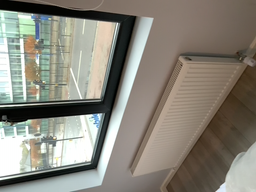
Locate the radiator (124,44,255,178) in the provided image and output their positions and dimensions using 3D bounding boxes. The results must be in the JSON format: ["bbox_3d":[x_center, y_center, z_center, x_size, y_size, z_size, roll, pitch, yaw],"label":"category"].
[{"bbox_3d":[0.400,0.220,1.680,0.090,0.550,1.310,-117,35,-42],"label":"radiator"}]
